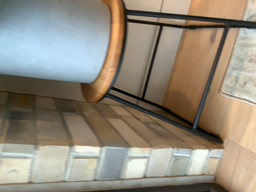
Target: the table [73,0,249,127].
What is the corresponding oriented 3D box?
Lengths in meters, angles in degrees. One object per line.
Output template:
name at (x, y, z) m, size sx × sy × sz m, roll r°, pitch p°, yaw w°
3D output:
table at (0.090, -0.110, 0.740) m, size 0.310 × 0.450 × 0.310 m, roll 32°, pitch 111°, yaw 60°
